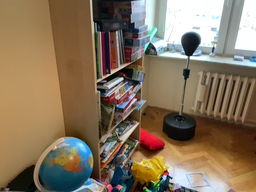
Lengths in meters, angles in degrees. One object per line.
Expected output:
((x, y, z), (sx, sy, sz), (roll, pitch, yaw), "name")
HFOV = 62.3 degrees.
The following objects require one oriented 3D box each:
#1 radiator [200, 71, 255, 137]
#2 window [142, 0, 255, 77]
((1.320, 0.100, 2.650), (0.690, 0.710, 0.130), (12, 26, 22), "radiator")
((1.010, -1.170, 2.390), (1.670, 1.770, 0.170), (12, 26, 22), "window")
